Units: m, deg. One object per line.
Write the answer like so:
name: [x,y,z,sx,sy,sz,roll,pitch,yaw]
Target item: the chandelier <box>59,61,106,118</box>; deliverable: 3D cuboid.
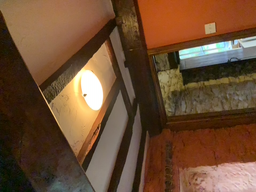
chandelier: [-0.260,-0.040,1.270,0.190,0.140,0.270,-68,147,-60]
